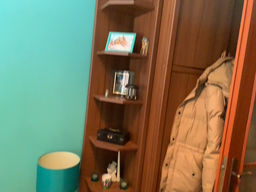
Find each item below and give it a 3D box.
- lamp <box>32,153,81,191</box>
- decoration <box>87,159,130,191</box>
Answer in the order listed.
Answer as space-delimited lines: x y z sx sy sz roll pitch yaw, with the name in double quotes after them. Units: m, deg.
-0.520 0.780 1.470 0.260 0.670 0.270 4 6 -28 "lamp"
-0.140 0.590 1.600 0.280 0.110 0.220 7 5 3 "decoration"
